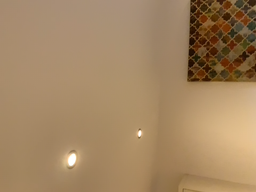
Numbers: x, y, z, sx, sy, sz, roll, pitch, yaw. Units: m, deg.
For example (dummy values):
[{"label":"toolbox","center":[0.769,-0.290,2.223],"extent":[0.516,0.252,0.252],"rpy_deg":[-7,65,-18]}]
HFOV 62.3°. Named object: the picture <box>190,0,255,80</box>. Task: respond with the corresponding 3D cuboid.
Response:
[{"label":"picture","center":[1.070,-0.590,2.060],"extent":[0.040,0.880,0.860],"rpy_deg":[2,-90,-66]}]
